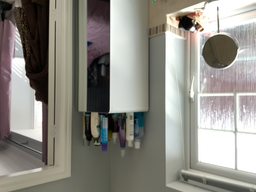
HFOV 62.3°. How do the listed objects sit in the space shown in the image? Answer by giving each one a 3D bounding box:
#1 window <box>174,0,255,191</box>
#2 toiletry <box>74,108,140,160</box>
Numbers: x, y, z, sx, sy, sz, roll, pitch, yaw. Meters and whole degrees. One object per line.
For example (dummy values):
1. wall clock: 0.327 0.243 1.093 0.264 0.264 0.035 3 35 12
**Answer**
1. window: 0.540 0.000 1.170 0.560 1.030 0.140 0 179 45
2. toiletry: -0.130 0.210 1.320 0.300 0.260 0.280 2 179 -41
